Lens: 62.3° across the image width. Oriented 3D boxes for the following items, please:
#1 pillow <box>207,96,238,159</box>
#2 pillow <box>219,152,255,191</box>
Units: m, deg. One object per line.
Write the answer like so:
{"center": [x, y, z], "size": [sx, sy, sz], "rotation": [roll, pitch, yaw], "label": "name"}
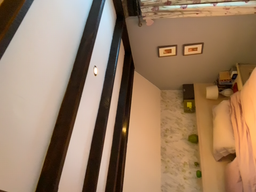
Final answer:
{"center": [1.310, 0.430, 3.000], "size": [0.360, 0.240, 0.800], "rotation": [74, -161, -56], "label": "pillow"}
{"center": [1.290, 1.040, 2.520], "size": [0.520, 0.210, 0.590], "rotation": [74, -161, -57], "label": "pillow"}
